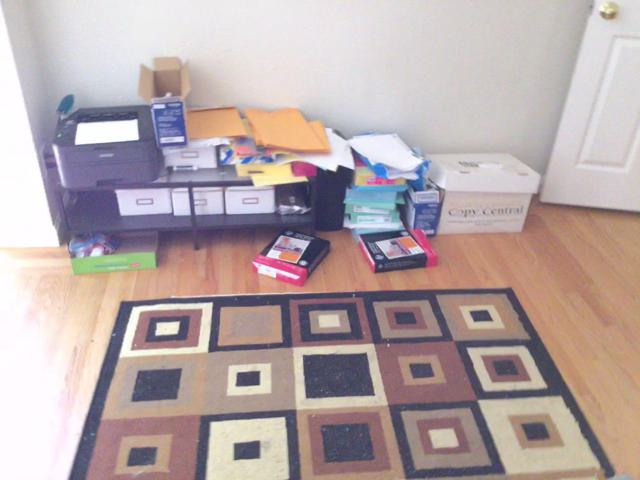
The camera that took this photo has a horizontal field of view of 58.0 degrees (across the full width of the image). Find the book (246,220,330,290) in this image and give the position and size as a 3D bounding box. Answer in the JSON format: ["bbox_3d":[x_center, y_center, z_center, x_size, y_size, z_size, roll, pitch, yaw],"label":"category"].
[{"bbox_3d":[-0.140,0.050,2.380,0.320,0.070,0.400,-2,32,-5],"label":"book"}]

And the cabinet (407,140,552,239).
[{"bbox_3d":[0.700,-0.240,2.630,0.500,0.290,0.390,-2,32,-5],"label":"cabinet"}]

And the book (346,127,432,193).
[{"bbox_3d":[0.290,-0.360,2.540,0.300,0.150,0.360,-2,32,-5],"label":"book"}]

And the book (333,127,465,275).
[{"bbox_3d":[0.300,-0.190,2.480,0.410,0.380,0.620,-2,32,-5],"label":"book"}]
